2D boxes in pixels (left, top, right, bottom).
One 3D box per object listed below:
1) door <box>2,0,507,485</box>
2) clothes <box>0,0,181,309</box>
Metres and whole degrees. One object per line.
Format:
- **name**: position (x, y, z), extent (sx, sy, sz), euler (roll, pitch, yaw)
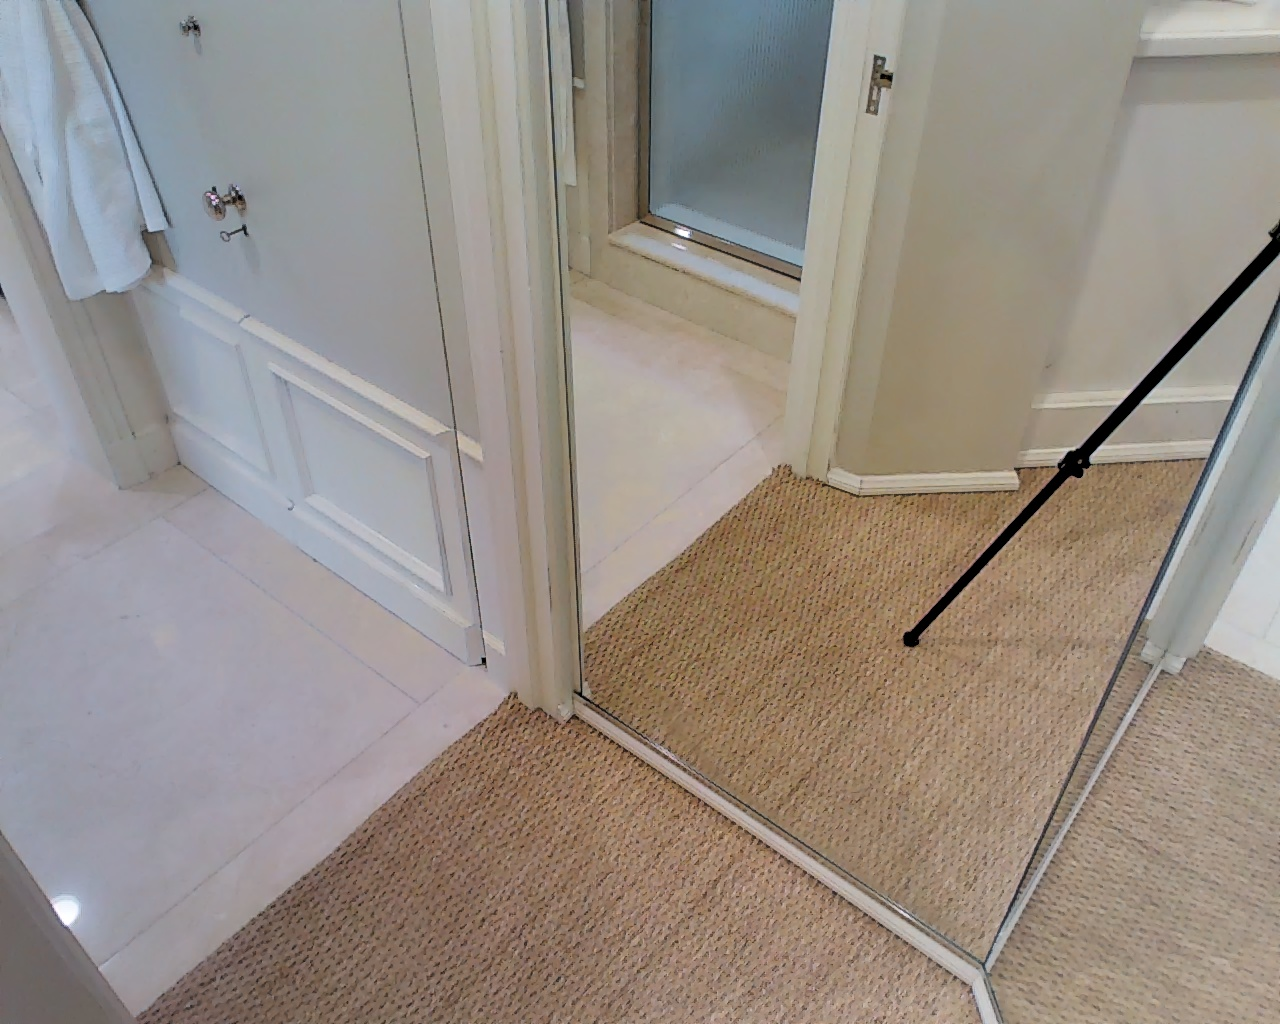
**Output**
- **door**: position (-0.630, -0.890, 1.390), extent (0.980, 1.620, 0.130), euler (28, 48, 28)
- **clothes**: position (-1.060, -0.990, 1.690), extent (0.260, 1.350, 0.180), euler (29, 49, 28)
